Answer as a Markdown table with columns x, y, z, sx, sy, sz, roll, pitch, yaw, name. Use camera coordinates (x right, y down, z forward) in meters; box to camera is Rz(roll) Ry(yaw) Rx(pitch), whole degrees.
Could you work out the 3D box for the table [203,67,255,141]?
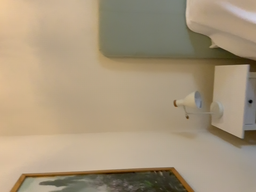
| x | y | z | sx | sy | sz | roll | pitch | yaw | name |
| --- | --- | --- | --- | --- | --- | --- | --- | --- | --- |
| 1.010 | 0.020 | 1.590 | 0.450 | 0.690 | 0.460 | -142 | 52 | -77 | table |
